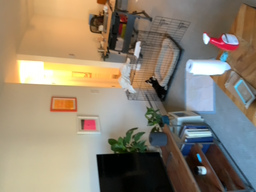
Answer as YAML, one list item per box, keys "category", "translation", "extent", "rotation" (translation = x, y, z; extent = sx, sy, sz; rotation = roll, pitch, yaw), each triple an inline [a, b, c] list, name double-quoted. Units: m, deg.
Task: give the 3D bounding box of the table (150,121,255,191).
- category: "table"
  translation: [0.750, 0.990, 1.870]
  extent: [1.560, 0.560, 0.600]
  rotation: [-108, 25, -50]

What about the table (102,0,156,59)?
- category: "table"
  translation: [-0.030, -1.440, 4.370]
  extent: [0.460, 0.820, 1.170]
  rotation: [-108, 26, -51]
